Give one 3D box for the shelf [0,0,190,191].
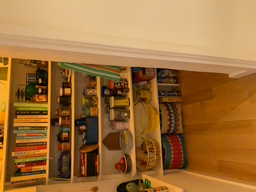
[{"bbox_3d":[-0.270,-0.160,2.260,0.290,1.800,1.950,155,114,-66],"label":"shelf"}]
